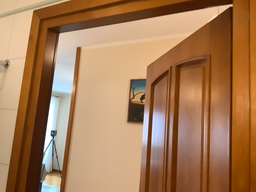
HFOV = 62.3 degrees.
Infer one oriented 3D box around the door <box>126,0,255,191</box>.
[{"bbox_3d":[0.160,0.750,0.910,0.120,2.070,0.990,7,-8,-14],"label":"door"}]
